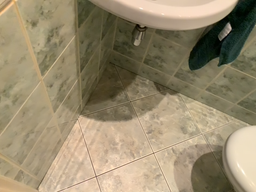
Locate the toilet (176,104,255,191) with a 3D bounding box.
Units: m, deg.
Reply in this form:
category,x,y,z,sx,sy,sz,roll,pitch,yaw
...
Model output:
category,x,y,z,sx,sy,sz,roll,pitch,yaw
toilet,0.570,0.370,0.960,0.510,0.390,0.360,25,61,2
